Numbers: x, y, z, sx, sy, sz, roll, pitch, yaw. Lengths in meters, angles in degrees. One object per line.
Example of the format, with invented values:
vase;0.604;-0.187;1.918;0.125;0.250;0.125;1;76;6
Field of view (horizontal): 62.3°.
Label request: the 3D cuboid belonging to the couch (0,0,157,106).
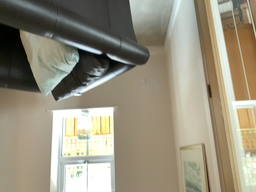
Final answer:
couch;-0.580;-0.530;1.360;0.990;0.910;1.070;11;160;-43
